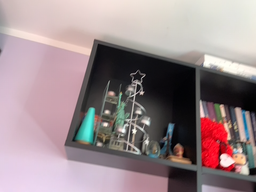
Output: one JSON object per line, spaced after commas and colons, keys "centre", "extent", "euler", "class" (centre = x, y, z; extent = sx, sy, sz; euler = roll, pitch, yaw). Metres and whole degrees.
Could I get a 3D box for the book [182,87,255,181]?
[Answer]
{"centre": [0.540, 0.220, 1.150], "extent": [0.390, 0.370, 0.270], "euler": [14, -28, -10], "class": "book"}
